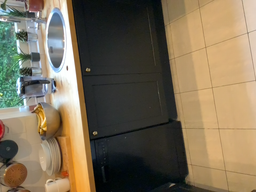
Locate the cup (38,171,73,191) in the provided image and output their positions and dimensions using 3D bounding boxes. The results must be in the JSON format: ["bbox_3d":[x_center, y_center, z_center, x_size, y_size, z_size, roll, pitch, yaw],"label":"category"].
[{"bbox_3d":[-0.480,0.690,1.430,0.180,0.160,0.290,-10,87,53],"label":"cup"}]
